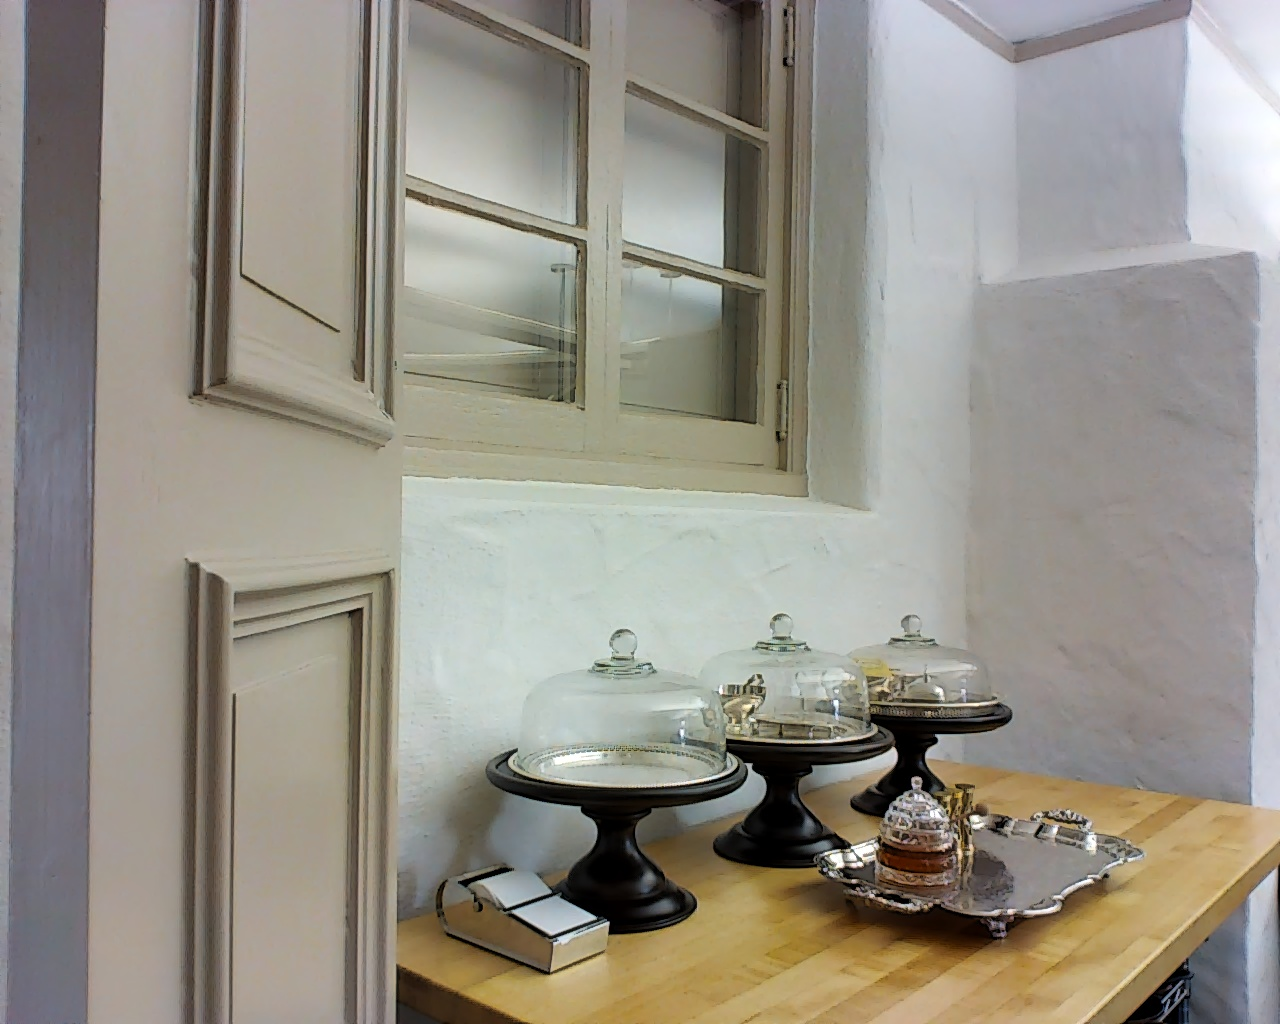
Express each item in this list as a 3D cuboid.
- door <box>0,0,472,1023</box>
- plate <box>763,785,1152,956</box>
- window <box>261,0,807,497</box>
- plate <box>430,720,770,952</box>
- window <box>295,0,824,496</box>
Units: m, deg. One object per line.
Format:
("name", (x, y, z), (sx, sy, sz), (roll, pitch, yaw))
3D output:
("door", (-0.260, 0.350, 0.800), (0.100, 2.260, 0.660), (1, -1, 3))
("plate", (0.480, 0.500, 1.570), (0.330, 0.050, 0.550), (0, -1, 44))
("window", (-0.110, -0.670, 2.210), (0.160, 1.240, 1.310), (0, -1, 44))
("plate", (-0.050, 0.430, 1.510), (0.290, 0.190, 0.380), (0, -1, 44))
("window", (-0.050, -0.660, 2.030), (0.110, 1.220, 1.220), (0, -1, 44))
